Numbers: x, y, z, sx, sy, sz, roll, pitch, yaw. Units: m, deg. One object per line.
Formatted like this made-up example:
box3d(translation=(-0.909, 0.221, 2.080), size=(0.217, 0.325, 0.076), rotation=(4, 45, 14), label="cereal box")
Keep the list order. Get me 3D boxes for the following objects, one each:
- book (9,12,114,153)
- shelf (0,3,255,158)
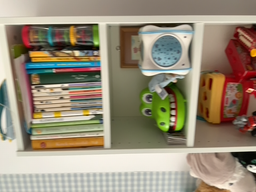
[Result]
box3d(translation=(-0.180, -0.050, 0.710), size=(0.240, 0.260, 0.400), rotation=(-97, 8, -74), label="book")
box3d(translation=(0.660, -0.050, 0.750), size=(0.280, 2.010, 0.430), rotation=(-97, 8, -73), label="shelf")
